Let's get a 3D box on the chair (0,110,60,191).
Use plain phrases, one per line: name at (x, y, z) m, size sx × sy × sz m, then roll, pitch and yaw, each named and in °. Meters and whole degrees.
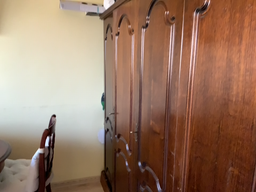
chair at (-0.890, 0.640, 1.760) m, size 0.570 × 0.930 × 0.490 m, roll -2°, pitch 11°, yaw -15°
